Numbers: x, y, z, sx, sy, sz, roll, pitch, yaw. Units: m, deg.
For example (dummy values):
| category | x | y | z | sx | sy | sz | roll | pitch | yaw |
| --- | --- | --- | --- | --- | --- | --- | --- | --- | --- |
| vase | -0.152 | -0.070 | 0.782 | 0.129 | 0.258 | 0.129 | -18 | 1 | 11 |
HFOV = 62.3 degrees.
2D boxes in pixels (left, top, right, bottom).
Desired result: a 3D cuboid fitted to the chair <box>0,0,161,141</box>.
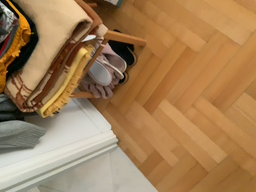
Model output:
| category | x | y | z | sx | sy | sz | roll | pitch | yaw |
| --- | --- | --- | --- | --- | --- | --- | --- | --- | --- |
| chair | -0.420 | -0.220 | 0.900 | 0.510 | 1.030 | 0.560 | 47 | 117 | 20 |
